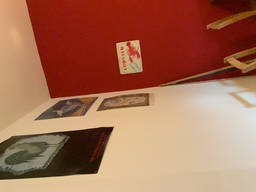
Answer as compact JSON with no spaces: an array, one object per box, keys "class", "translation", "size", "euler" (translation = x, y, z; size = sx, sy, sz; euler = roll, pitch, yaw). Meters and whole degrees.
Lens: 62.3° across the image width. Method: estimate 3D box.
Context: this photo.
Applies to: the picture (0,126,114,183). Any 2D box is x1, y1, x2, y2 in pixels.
[{"class":"picture","translation":[-0.490,0.320,1.220],"size":[0.500,0.760,0.030],"euler":[-72,-25,-75]}]
